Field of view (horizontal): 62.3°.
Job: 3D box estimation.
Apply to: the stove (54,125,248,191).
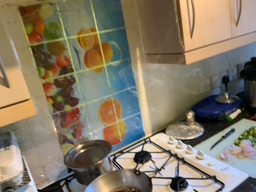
[{"bbox_3d":[0.060,0.320,0.860,0.590,0.040,0.520,-21,19,-28],"label":"stove"}]
